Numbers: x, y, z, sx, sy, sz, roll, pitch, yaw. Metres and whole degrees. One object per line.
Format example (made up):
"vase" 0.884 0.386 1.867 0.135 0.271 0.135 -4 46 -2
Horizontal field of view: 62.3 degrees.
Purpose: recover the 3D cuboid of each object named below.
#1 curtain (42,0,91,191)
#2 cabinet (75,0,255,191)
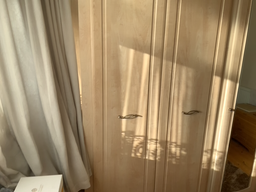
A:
"curtain" -0.400 -0.150 1.450 0.220 2.100 0.430 -2 16 -13
"cabinet" 1.030 -0.240 1.870 2.860 2.500 0.370 -2 16 -13
